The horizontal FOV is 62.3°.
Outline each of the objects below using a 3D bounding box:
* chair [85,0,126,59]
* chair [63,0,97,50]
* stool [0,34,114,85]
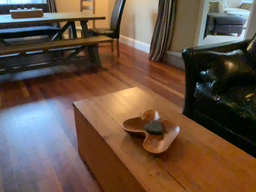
[{"bbox_3d":[-0.420,-1.300,4.050,0.640,1.010,0.450,-10,29,-21],"label":"chair"},{"bbox_3d":[-1.010,-1.570,4.550,0.440,1.020,0.480,13,29,22],"label":"chair"},{"bbox_3d":[-1.340,-0.560,3.190,2.320,0.450,0.400,-15,31,-28],"label":"stool"}]
